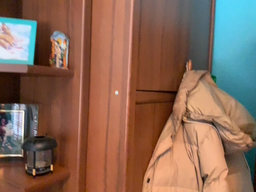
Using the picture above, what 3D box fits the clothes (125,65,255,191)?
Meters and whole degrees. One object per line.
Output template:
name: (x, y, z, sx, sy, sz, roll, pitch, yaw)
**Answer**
clothes: (0.200, 0.370, 0.710, 0.340, 0.890, 0.300, 2, 2, -21)
